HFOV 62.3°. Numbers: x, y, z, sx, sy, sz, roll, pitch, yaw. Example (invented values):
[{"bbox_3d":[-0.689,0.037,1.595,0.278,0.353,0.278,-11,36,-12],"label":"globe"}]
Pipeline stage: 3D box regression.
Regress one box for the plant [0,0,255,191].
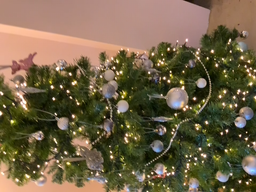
[{"bbox_3d":[0.010,0.170,1.050,1.010,1.650,0.890,20,104,60],"label":"plant"}]
